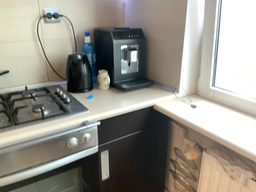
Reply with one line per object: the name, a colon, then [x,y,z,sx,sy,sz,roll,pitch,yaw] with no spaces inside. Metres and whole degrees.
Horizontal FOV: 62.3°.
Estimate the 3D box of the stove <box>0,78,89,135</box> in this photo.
stove: [-0.560,0.030,1.080,0.530,0.030,0.560,-13,25,-31]
